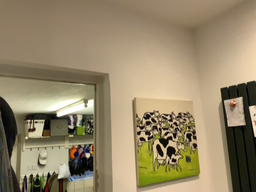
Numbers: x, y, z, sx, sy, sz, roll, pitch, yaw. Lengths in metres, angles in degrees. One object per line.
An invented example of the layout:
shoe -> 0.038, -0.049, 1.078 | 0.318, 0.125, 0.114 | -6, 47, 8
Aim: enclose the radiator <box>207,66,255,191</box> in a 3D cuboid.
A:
radiator -> 0.910, 0.740, 1.340 | 0.090, 1.890, 0.650 | 4, -12, -34
